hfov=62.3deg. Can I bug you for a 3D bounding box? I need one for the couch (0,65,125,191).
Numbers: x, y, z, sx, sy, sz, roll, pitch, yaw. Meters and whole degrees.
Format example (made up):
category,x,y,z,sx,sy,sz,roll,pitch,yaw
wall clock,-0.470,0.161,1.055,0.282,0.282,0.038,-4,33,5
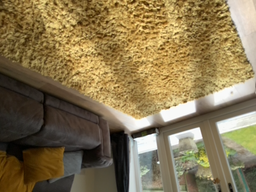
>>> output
category,x,y,z,sx,sy,sz,roll,pitch,yaw
couch,-1.020,0.580,2.170,1.080,0.970,1.740,-24,146,30
